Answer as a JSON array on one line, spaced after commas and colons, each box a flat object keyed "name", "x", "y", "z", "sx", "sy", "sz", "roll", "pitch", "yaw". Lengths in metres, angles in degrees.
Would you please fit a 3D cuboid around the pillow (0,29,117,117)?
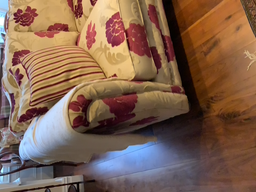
[{"name": "pillow", "x": -0.390, "y": -0.170, "z": 1.220, "sx": 0.470, "sy": 0.430, "sz": 0.190, "roll": 32, "pitch": 131, "yaw": 22}]

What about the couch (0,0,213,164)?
[{"name": "couch", "x": -0.360, "y": -0.560, "z": 1.580, "sx": 1.100, "sy": 0.920, "sz": 1.860, "roll": -30, "pitch": 61, "yaw": 47}]
